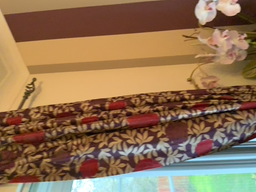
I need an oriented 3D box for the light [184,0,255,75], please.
[{"bbox_3d":[0.640,-0.380,1.090,0.300,0.610,0.410,-89,-6,-52],"label":"light"}]
